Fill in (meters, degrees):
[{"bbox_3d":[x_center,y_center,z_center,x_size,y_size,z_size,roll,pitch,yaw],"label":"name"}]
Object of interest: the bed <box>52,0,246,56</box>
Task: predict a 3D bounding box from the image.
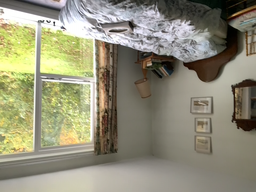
[{"bbox_3d":[0.290,-1.030,2.550,2.050,0.580,1.140,2,175,-34],"label":"bed"}]
